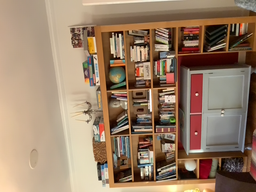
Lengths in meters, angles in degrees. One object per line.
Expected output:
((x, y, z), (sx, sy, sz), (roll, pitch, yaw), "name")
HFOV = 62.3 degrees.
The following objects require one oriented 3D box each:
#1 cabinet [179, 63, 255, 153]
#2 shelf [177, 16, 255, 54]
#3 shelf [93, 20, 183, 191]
((1.220, 0.150, 2.950), (0.460, 0.900, 1.120), (-93, 0, -76), "cabinet")
((1.150, -0.800, 2.810), (0.280, 0.940, 0.410), (-93, 0, -76), "shelf")
((0.180, 0.200, 3.020), (0.330, 1.100, 2.340), (-93, 0, -76), "shelf")
